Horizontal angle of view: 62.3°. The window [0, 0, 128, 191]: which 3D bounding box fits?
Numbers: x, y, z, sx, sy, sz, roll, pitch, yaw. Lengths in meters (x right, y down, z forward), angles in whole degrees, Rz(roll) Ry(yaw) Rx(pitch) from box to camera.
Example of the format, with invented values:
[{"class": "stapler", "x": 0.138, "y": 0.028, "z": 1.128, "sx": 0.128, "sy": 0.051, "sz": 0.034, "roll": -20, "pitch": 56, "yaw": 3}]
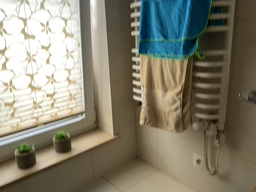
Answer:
[{"class": "window", "x": -0.460, "y": -0.290, "z": 1.050, "sx": 0.960, "sy": 1.520, "sz": 0.240, "roll": -16, "pitch": 21, "yaw": -41}]
